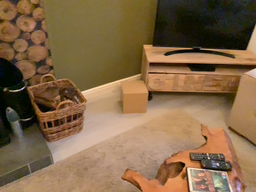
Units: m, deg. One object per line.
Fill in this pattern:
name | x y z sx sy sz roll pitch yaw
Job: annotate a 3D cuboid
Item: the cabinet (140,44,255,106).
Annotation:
cabinet | 0.770 -0.240 2.380 1.180 0.490 0.480 1 34 -4
